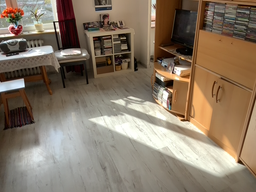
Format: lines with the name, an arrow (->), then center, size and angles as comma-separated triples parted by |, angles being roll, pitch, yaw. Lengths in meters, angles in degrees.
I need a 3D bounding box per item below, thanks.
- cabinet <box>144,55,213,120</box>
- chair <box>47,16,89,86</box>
cabinet -> 0.630, -0.160, 2.880 | 0.520, 0.520, 0.790 | -12, 30, -18
chair -> -0.990, -0.760, 3.550 | 0.460, 1.010, 0.510 | -12, 30, -19
